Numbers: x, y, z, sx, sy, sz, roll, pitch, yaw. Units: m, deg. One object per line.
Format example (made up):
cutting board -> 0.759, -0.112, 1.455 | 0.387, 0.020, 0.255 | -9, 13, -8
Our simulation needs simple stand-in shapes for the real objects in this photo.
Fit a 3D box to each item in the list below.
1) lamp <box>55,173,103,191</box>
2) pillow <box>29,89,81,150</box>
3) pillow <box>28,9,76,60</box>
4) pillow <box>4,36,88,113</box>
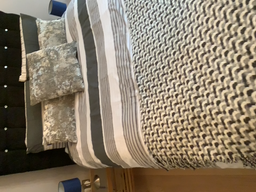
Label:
lamp -> -0.450, 0.830, 1.960 | 0.220, 0.370, 0.160 | -24, 69, 50
pillow -> -0.600, 0.190, 1.790 | 0.120, 0.290, 0.420 | -16, 101, 24
pillow -> -0.710, -0.560, 1.990 | 0.150, 0.280, 0.410 | -23, 85, 36
pillow -> -0.640, -0.210, 1.780 | 0.160, 0.490, 0.530 | -26, 101, 21
